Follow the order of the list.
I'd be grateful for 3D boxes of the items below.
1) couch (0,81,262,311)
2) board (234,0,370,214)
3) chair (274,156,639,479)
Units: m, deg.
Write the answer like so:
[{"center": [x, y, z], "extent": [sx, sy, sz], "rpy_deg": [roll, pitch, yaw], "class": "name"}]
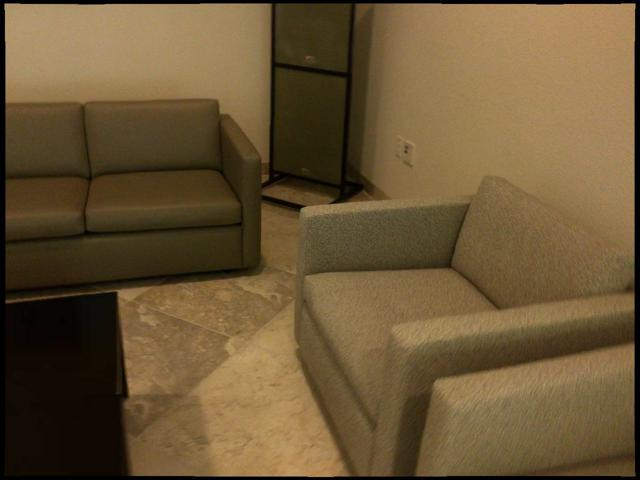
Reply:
[{"center": [-1.497, -0.240, 2.660], "extent": [2.266, 0.721, 0.980], "rpy_deg": [-6, 29, -19], "class": "couch"}, {"center": [-0.110, -1.012, 3.470], "extent": [0.599, 1.522, 0.560], "rpy_deg": [13, 29, 18], "class": "board"}, {"center": [0.419, 0.240, 1.930], "extent": [0.898, 0.711, 0.950], "rpy_deg": [-6, 29, -19], "class": "chair"}]
